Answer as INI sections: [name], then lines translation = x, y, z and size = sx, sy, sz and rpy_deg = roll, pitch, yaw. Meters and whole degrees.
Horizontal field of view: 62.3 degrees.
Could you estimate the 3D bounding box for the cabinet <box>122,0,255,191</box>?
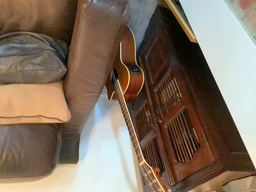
[cabinet]
translation = 0.280, 0.040, 1.240
size = 0.360, 1.010, 0.620
rpy_deg = 7, 142, -20
